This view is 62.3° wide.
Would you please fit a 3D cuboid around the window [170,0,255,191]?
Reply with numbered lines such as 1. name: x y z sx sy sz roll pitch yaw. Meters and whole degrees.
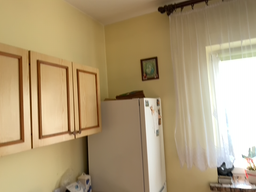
1. window: 1.720 0.090 1.830 2.520 2.090 0.260 -5 -3 22
